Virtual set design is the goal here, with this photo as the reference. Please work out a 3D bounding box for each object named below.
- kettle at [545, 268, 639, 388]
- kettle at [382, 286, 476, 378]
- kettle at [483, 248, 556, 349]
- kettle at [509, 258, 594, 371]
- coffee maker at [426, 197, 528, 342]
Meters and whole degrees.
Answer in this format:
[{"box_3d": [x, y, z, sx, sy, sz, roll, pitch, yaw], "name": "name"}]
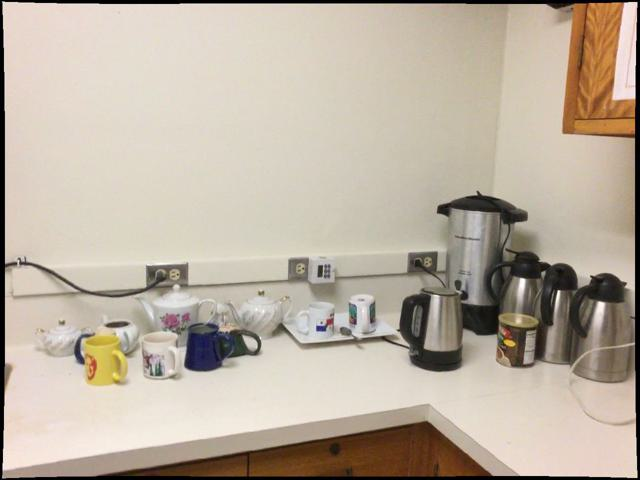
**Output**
[{"box_3d": [0.718, 0.221, 1.490, 0.190, 0.261, 0.140, -2, 10, -22], "name": "kettle"}, {"box_3d": [0.289, 0.241, 1.540, 0.210, 0.201, 0.110, -2, 10, -22], "name": "kettle"}, {"box_3d": [0.598, 0.170, 1.740, 0.130, 0.271, 0.140, -2, 10, -22], "name": "kettle"}, {"box_3d": [0.638, 0.201, 1.600, 0.140, 0.271, 0.140, -2, 10, -22], "name": "kettle"}, {"box_3d": [0.489, 0.080, 1.830, 0.180, 0.411, 0.240, -2, 10, -22], "name": "coffee maker"}]
